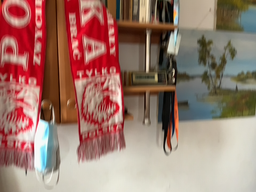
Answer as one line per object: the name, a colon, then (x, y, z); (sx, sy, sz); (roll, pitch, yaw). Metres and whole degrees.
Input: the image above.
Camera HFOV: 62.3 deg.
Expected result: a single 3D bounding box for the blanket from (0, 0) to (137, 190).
blanket: (-0.310, -0.090, 0.860); (0.620, 0.780, 0.290); (-1, 7, -17)
